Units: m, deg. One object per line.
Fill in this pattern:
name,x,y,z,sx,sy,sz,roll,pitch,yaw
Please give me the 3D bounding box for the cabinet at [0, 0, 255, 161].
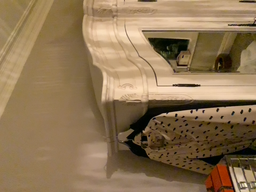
cabinet,0.650,-0.800,1.850,0.700,2.270,2.540,91,179,-50
